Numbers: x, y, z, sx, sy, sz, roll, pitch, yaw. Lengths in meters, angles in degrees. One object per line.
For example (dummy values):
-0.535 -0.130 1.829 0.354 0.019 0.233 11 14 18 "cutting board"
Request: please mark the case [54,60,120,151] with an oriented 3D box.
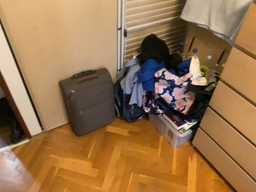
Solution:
-0.310 0.090 1.720 0.380 0.610 0.290 -21 49 -24 "case"
